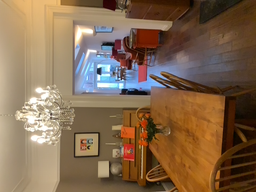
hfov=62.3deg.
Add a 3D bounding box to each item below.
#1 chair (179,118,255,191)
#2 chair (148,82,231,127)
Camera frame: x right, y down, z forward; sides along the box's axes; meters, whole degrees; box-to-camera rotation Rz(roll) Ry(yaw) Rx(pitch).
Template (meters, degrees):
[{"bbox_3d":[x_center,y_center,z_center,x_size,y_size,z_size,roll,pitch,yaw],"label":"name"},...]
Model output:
[{"bbox_3d":[0.890,0.420,1.520,0.530,0.870,0.450,-164,75,-82],"label":"chair"},{"bbox_3d":[0.740,0.080,2.690,0.510,0.870,0.510,-158,69,-82],"label":"chair"}]
